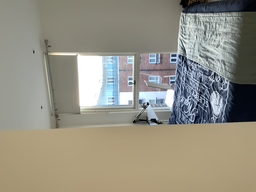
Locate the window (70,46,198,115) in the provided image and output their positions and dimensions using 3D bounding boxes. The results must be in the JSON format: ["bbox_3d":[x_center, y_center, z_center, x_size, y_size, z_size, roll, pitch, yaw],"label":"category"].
[{"bbox_3d":[0.110,-0.270,3.850,0.190,2.150,1.230,-103,13,-67],"label":"window"}]
